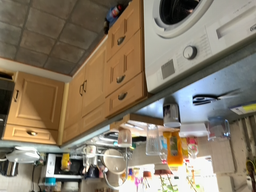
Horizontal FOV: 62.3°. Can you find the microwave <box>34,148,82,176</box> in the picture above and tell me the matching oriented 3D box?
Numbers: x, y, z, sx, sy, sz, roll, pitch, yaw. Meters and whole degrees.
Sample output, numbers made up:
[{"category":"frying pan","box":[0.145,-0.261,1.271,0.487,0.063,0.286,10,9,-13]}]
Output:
[{"category":"microwave","box":[-0.810,0.780,2.470,0.410,0.270,0.340,15,153,-34]}]

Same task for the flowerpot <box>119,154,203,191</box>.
[{"category":"flowerpot","box":[0.250,0.750,1.970,0.350,0.310,0.770,12,154,-28]}]
